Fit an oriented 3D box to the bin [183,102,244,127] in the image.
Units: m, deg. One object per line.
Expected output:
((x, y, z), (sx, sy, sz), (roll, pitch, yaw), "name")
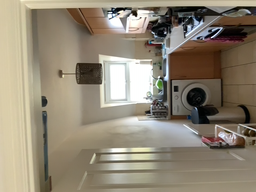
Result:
((1.200, 0.250, 3.050), (0.470, 0.680, 0.280), (-112, 21, -87), "bin")

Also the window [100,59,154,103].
((-0.020, -0.310, 4.430), (0.160, 1.100, 0.870), (-103, 12, -85), "window")
